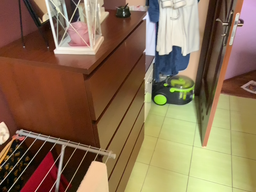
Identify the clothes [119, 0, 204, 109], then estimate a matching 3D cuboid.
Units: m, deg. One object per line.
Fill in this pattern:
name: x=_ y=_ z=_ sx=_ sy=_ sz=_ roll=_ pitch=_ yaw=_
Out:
clothes: x=0.330 y=-0.760 z=2.090 sx=0.730 sy=1.800 sz=0.380 roll=11 pitch=38 yaw=18
